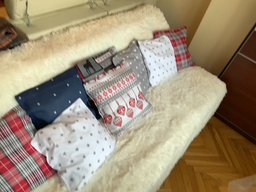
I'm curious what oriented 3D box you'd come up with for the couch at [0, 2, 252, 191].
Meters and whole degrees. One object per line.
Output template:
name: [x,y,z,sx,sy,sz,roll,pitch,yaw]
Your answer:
couch: [-0.110,0.120,1.450,1.080,0.720,2.010,37,47,18]
